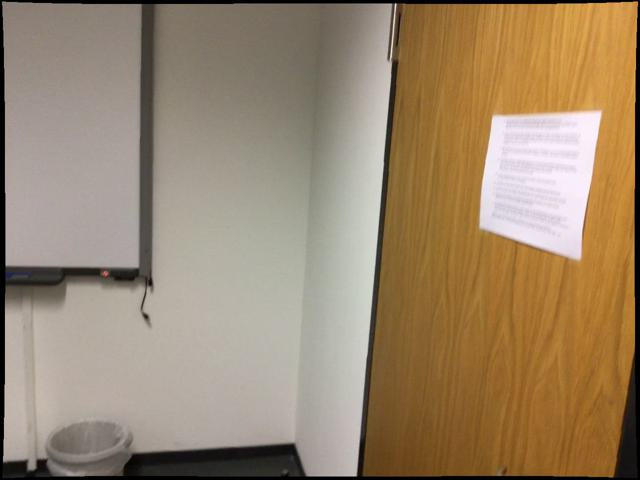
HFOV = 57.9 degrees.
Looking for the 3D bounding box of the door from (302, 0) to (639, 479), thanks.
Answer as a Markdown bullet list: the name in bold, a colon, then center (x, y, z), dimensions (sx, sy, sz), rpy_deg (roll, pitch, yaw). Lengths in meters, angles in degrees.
- **door**: center (0.220, 0.470, 1.190), dimensions (0.230, 2.182, 1.430), rpy_deg (2, 16, -11)
